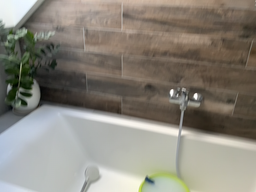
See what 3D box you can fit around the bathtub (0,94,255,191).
[{"bbox_3d":[0.010,0.580,1.200,2.070,0.560,0.950,8,27,14],"label":"bathtub"}]
